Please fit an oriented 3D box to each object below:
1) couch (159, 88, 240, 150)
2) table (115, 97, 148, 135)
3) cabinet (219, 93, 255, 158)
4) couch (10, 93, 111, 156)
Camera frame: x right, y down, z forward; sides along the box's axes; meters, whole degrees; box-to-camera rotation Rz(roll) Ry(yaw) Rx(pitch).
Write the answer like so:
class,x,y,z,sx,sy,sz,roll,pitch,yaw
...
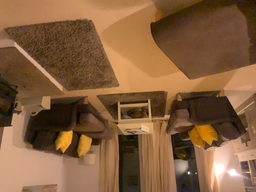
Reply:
class,x,y,z,sx,sy,sz,roll,pitch,yaw
couch,1.240,0.540,4.160,1.100,0.810,1.510,-3,160,4
table,0.110,0.460,4.340,0.580,0.460,1.180,-3,160,4
cabinet,2.410,0.680,4.320,0.460,1.030,1.470,-3,160,4
couch,-1.160,0.740,4.480,1.260,0.810,2.180,-3,160,4
